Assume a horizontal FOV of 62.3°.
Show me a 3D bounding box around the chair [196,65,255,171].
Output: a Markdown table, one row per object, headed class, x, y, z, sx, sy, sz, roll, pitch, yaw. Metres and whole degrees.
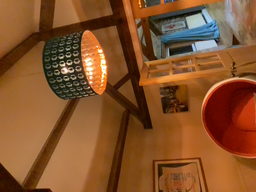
| class | x | y | z | sx | sy | sz | roll | pitch | yaw |
| --- | --- | --- | --- | --- | --- | --- | --- | --- | --- |
| chair | 1.550 | 0.200 | 2.690 | 0.860 | 1.140 | 1.110 | -34 | -64 | -75 |
